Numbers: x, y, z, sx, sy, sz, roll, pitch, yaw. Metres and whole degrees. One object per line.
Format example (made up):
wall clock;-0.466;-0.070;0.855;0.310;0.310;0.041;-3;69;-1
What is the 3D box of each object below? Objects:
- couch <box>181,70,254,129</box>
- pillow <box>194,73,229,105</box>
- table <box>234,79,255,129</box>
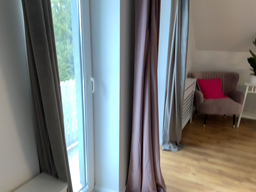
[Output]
couch;1.600;0.020;3.970;0.920;0.920;0.730;-1;16;-7
pillow;1.560;-0.130;3.970;0.460;0.410;0.220;27;5;-22
table;2.180;0.130;3.840;0.360;0.790;0.400;8;17;24
